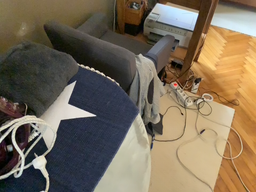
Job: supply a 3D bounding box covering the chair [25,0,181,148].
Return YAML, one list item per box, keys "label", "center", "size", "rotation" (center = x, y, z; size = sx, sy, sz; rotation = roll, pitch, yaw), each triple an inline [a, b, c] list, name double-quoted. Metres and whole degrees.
- label: "chair"
  center: [-0.120, -0.220, 1.510]
  size: [0.650, 0.780, 0.650]
  rotation: [22, 51, 16]
